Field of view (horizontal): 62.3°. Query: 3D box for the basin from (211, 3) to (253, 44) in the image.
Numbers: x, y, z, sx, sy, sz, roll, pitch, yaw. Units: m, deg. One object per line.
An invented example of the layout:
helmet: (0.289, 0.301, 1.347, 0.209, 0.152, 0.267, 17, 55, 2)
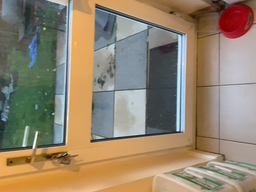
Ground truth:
basin: (0.610, -0.420, 1.260, 0.220, 0.040, 0.180, 3, 91, 52)
